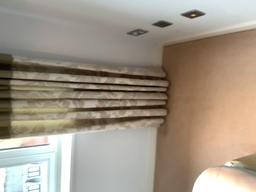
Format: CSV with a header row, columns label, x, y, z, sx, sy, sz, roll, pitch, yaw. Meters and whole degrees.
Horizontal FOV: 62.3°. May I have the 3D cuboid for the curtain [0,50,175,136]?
label,x,y,z,sx,sy,sz,roll,pitch,yaw
curtain,-0.590,-0.020,1.320,0.170,2.310,0.470,16,103,53
